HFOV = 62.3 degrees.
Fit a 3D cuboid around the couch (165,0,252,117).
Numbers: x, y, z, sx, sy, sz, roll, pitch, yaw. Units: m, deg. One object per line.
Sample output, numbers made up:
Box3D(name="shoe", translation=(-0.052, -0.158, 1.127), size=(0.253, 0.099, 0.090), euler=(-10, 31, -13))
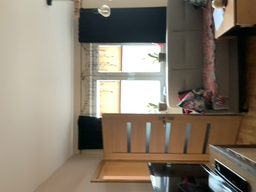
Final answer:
Box3D(name="couch", translation=(1.170, -0.760, 3.330), size=(0.990, 0.990, 2.070), euler=(47, -137, -89))
